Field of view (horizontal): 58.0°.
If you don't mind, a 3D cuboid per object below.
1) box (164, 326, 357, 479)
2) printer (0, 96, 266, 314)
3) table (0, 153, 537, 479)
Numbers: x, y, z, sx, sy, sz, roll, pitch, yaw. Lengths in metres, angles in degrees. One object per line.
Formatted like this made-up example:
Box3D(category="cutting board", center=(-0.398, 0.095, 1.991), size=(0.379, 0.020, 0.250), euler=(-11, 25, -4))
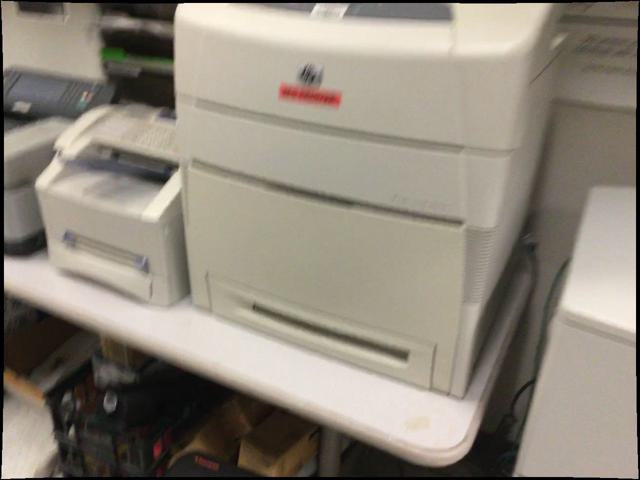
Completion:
Box3D(category="box", center=(-0.150, 0.491, 1.580), size=(0.399, 0.291, 0.320), euler=(13, 30, 21))
Box3D(category="printer", center=(-0.409, -0.110, 1.340), size=(0.439, 0.321, 0.360), euler=(13, 30, 21))
Box3D(category="table", center=(-0.329, 0.331, 1.590), size=(1.567, 0.711, 0.730), euler=(13, 30, 21))
